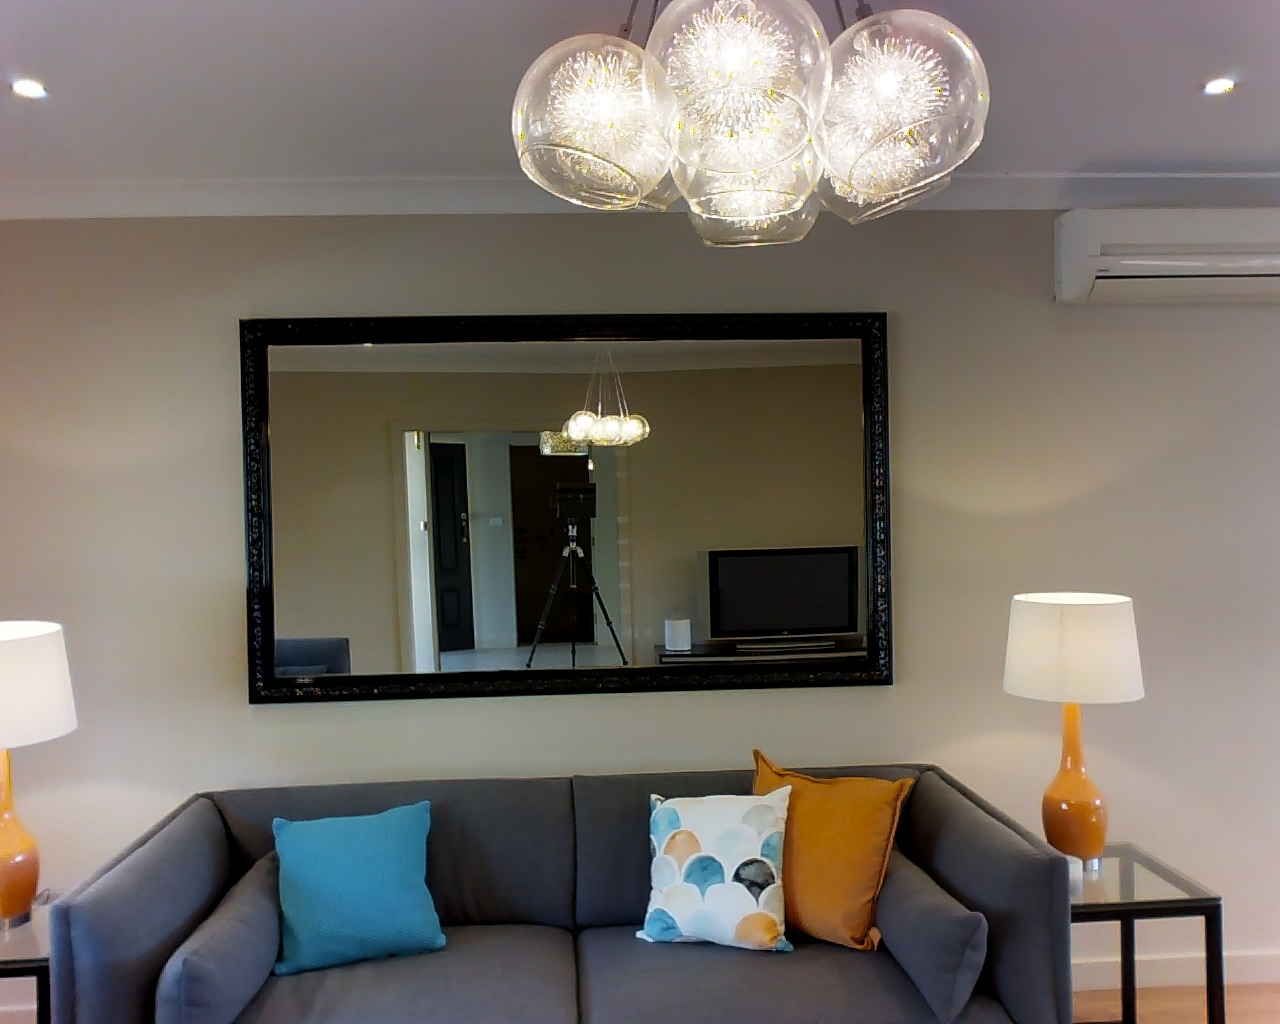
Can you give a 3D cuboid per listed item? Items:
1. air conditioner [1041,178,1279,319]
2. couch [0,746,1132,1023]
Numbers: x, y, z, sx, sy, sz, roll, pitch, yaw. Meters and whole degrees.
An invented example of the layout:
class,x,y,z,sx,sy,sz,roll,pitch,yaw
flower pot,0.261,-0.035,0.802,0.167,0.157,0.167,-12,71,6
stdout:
class,x,y,z,sx,sy,sz,roll,pitch,yaw
air conditioner,1.769,-0.790,3.230,1.030,0.360,0.250,-1,0,-4
couch,-0.170,1.140,2.720,2.389,0.780,1.020,-1,0,-4
